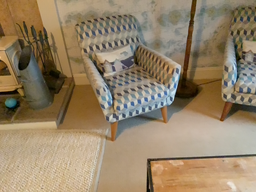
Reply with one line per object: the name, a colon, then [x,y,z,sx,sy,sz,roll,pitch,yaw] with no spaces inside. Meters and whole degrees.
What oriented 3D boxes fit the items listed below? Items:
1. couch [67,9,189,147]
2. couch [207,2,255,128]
couch: [-0.060,-0.250,2.050,0.720,0.830,0.970,-16,38,-18]
couch: [1.240,-0.320,2.030,0.730,0.870,0.900,10,37,17]
